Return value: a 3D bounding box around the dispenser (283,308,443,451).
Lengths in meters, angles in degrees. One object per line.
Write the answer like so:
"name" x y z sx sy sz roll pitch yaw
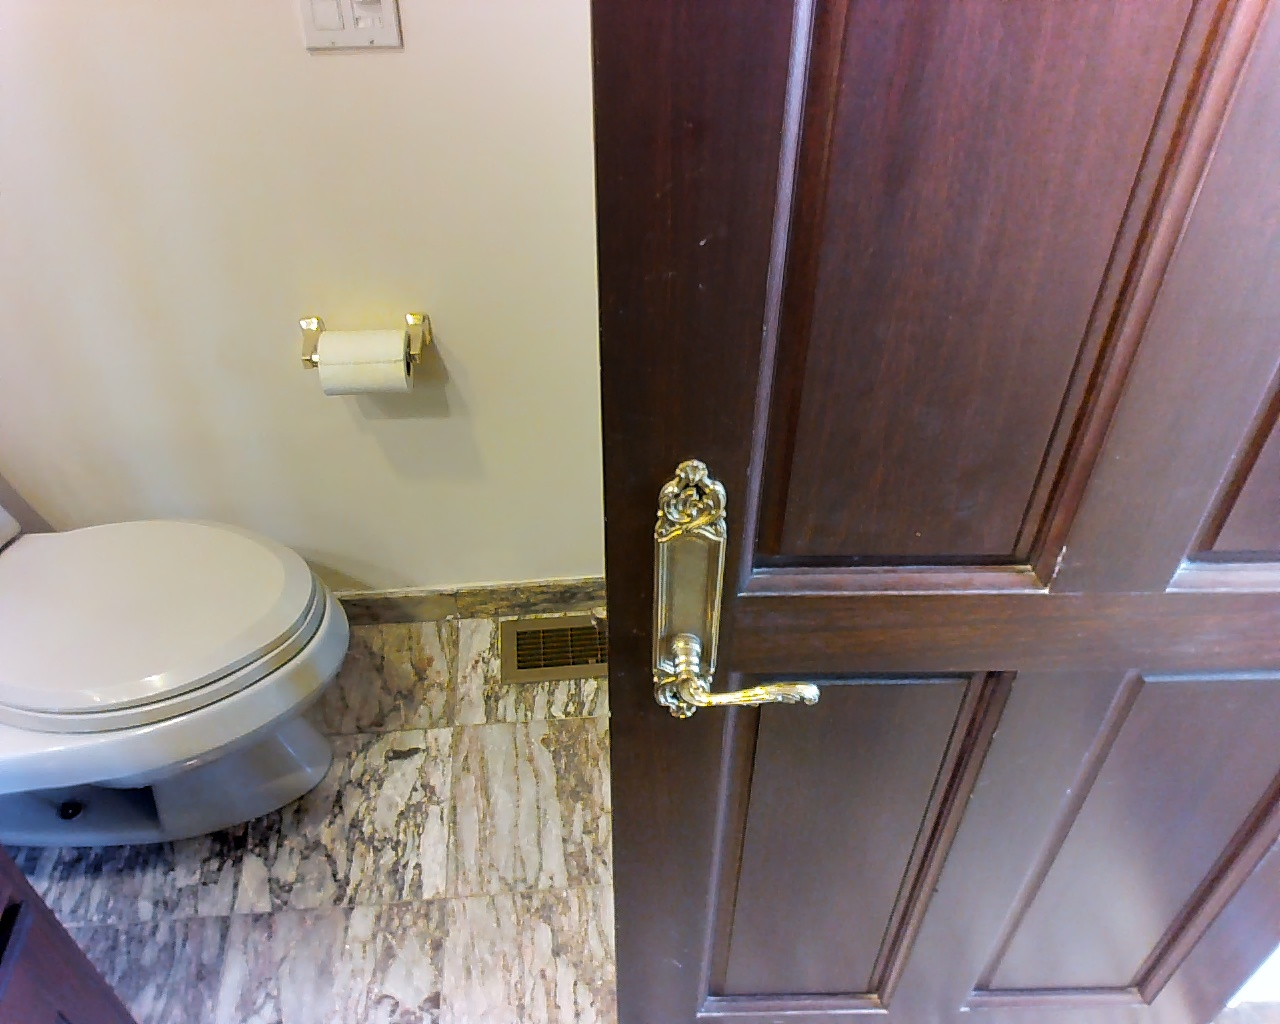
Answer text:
"dispenser" -0.390 -0.190 1.530 0.190 0.160 0.110 -3 42 -4

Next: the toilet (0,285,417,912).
"toilet" -0.770 0.140 1.440 0.810 0.710 0.450 -4 42 -5
